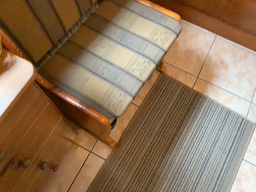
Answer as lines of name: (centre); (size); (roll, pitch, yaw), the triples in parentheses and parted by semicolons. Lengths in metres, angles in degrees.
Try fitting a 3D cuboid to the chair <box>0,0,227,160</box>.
chair: (-0.090, -0.180, 1.010); (0.660, 0.910, 0.620); (28, 69, 7)
